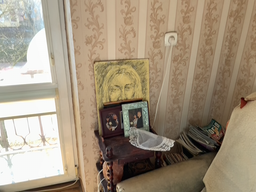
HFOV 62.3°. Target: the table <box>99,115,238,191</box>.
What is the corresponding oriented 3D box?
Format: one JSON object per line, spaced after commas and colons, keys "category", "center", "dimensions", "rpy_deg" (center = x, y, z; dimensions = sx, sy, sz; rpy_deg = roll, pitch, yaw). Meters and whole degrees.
{"category": "table", "center": [0.260, 0.510, 1.480], "dimensions": [0.870, 0.620, 0.220], "rpy_deg": [-6, 25, -17]}
